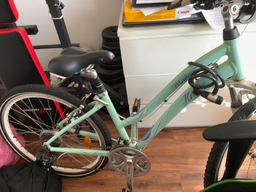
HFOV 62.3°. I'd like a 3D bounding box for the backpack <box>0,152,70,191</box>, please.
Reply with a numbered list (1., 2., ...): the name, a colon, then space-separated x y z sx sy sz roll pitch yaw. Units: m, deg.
1. backpack: -0.640 0.520 1.130 0.550 0.230 0.320 -5 43 2
